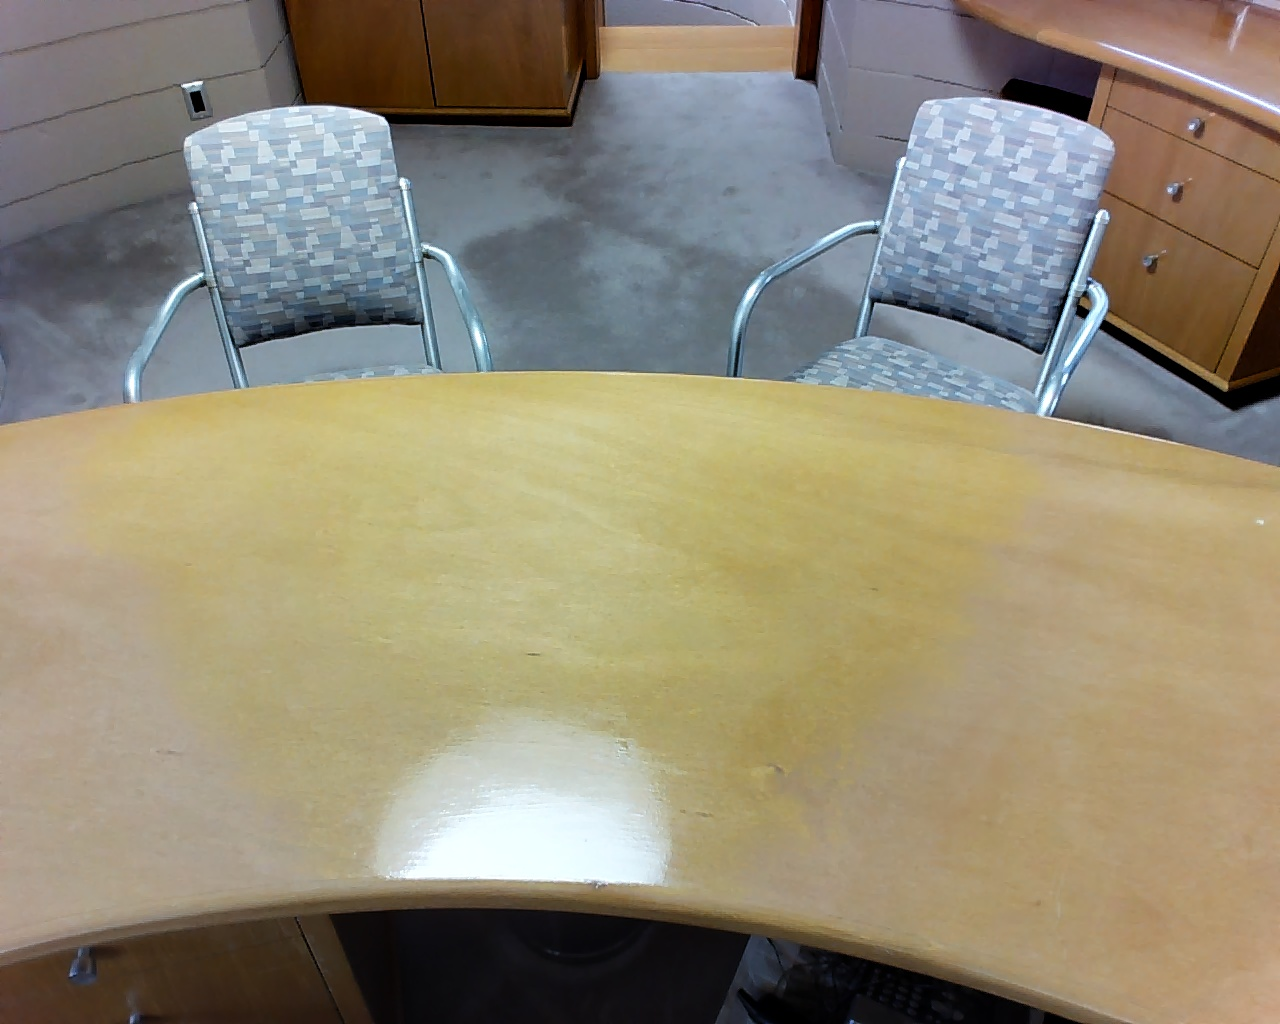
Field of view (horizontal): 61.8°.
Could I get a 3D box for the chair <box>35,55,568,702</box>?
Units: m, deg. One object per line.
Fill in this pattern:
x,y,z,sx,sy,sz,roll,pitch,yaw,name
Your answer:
-0.520,-0.230,1.930,0.630,0.880,0.630,-9,44,-8,chair

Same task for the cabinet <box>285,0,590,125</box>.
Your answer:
-0.670,-1.700,3.470,0.970,0.880,0.070,1,44,3,cabinet

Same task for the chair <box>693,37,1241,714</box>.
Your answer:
0.530,-0.250,1.930,0.610,0.870,0.630,24,49,24,chair
